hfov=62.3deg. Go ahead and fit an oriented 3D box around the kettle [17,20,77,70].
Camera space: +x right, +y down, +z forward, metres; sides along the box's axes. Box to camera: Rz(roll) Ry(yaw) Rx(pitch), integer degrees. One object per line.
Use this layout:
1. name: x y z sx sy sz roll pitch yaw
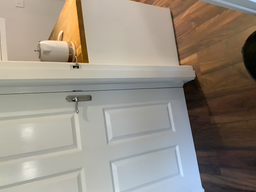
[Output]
1. kettle: -0.580 -0.340 1.500 0.260 0.330 0.230 -27 70 56
